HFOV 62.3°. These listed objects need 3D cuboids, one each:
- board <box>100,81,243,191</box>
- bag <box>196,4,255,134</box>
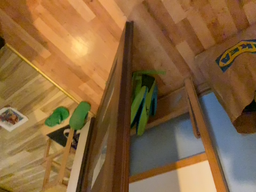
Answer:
[{"bbox_3d":[0.170,0.470,1.160,0.770,1.060,0.130,-28,126,26],"label":"board"},{"bbox_3d":[0.650,-0.150,1.080,0.380,0.460,0.360,-28,126,26],"label":"bag"}]
